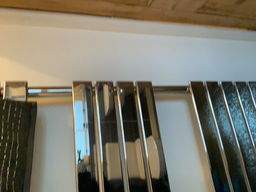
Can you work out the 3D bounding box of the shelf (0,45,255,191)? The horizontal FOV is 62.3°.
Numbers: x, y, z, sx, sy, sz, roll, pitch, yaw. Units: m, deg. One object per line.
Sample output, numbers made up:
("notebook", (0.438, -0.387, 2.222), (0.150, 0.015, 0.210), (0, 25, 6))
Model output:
("shelf", (0.190, 0.230, 0.830), (0.120, 1.630, 0.840), (132, 133, -64))
